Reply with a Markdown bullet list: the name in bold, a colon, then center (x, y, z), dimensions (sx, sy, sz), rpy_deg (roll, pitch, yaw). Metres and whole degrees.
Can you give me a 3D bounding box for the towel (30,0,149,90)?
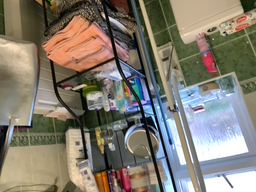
- **towel**: center (-0.190, -0.300, 1.300), dimensions (0.380, 0.320, 0.630), rpy_deg (-19, 163, 21)
